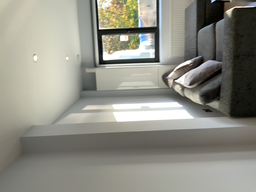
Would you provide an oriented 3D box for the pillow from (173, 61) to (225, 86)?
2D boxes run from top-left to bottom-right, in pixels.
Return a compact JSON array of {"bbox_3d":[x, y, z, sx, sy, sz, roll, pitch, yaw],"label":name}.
[{"bbox_3d":[0.890,-0.300,2.620,0.550,0.510,0.200,-26,-60,-60],"label":"pillow"}]

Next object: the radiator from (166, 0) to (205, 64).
[{"bbox_3d":[1.130,-1.340,4.200,0.080,0.700,1.360,-96,5,-76],"label":"radiator"}]

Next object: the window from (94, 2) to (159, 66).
[{"bbox_3d":[-0.010,-1.310,4.540,0.120,1.330,1.260,-96,5,-77],"label":"window"}]
